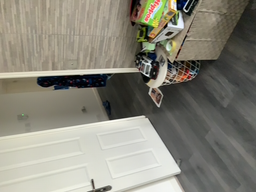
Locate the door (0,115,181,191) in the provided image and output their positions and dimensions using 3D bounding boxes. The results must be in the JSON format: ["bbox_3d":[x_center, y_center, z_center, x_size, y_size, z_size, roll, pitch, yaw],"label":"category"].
[{"bbox_3d":[-0.500,0.670,2.180,0.900,2.000,0.080,59,145,41],"label":"door"}]
